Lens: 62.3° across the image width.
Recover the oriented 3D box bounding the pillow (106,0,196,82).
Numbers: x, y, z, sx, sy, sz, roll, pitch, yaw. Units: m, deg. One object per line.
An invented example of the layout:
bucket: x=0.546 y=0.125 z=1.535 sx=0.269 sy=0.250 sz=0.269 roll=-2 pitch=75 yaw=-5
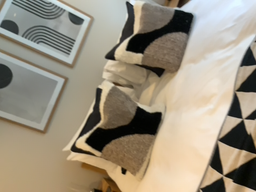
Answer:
pillow: x=0.180 y=-0.410 z=1.530 sx=0.350 sy=0.420 sz=0.460 roll=6 pitch=70 yaw=45

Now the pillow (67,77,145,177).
pillow: x=-0.170 y=0.250 z=1.760 sx=0.230 sy=0.400 sz=0.680 roll=-23 pitch=46 yaw=65

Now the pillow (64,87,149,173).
pillow: x=-0.140 y=0.250 z=1.560 sx=0.240 sy=0.430 sz=0.470 roll=-5 pitch=61 yaw=52

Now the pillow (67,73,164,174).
pillow: x=-0.050 y=0.180 z=1.330 sx=0.210 sy=0.450 sz=0.470 roll=-4 pitch=62 yaw=51
